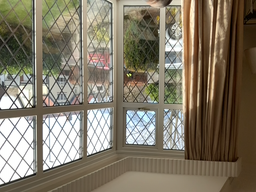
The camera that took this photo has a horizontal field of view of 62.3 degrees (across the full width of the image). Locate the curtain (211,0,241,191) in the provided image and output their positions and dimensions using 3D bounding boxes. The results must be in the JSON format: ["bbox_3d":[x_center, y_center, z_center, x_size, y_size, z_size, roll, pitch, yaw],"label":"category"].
[{"bbox_3d":[1.110,-0.120,2.380,0.180,2.190,0.490,2,-177,33],"label":"curtain"}]
